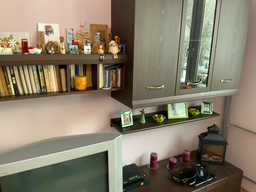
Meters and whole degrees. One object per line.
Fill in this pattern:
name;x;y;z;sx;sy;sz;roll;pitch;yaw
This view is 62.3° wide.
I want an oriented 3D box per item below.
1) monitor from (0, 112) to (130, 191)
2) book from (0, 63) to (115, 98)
monitor;-0.470;0.510;1.360;0.790;0.580;0.530;-7;16;-30
book;-0.570;-0.100;1.280;1.020;0.160;0.140;-6;16;-28
